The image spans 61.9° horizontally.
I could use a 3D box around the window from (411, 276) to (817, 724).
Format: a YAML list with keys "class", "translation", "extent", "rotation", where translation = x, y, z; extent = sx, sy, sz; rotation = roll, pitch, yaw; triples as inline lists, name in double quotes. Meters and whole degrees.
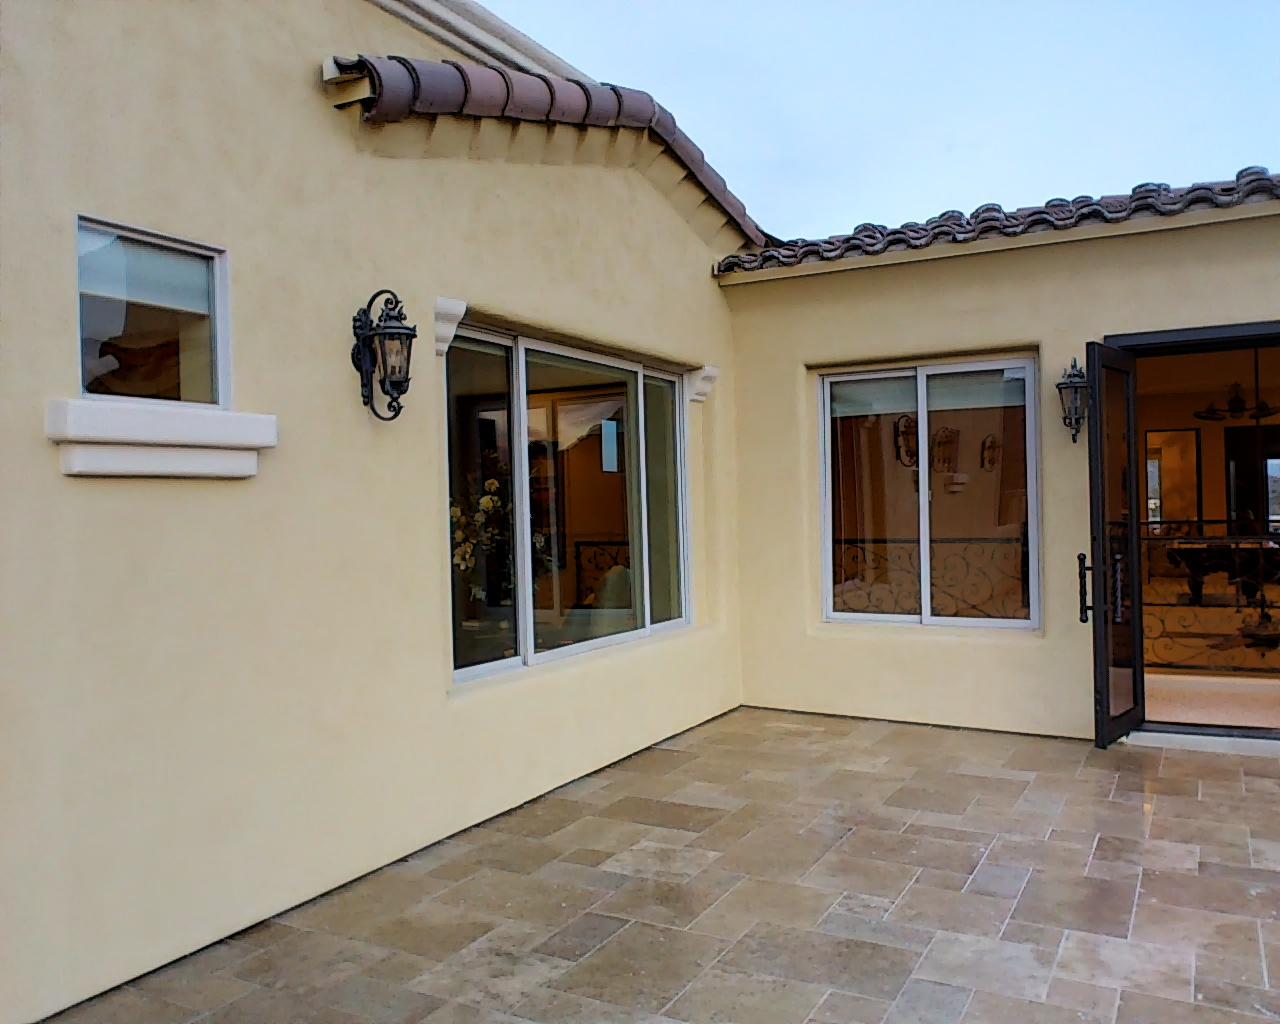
- class: "window"
  translation: [0.080, -0.060, 6.180]
  extent: [0.810, 1.920, 3.220]
  rotation: [-1, 0, 29]
